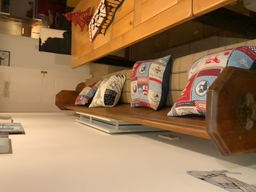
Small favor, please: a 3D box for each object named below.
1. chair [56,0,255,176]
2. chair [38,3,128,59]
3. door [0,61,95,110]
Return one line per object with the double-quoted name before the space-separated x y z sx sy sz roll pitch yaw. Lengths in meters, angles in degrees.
"chair" 0.040 -0.080 2.150 2.990 0.900 0.610 2 90 61
"chair" -0.680 -0.910 3.200 0.650 1.180 0.470 4 91 61
"door" -1.670 -0.160 4.230 0.050 2.030 0.880 23 108 59
